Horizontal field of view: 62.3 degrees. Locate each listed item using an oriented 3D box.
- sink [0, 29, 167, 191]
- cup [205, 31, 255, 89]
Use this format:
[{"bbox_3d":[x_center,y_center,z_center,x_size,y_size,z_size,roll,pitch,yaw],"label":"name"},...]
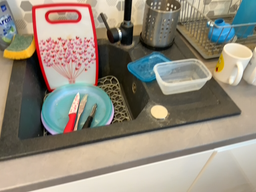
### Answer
[{"bbox_3d":[-0.160,0.020,0.700,0.390,0.240,0.460,-9,48,-12],"label":"sink"},{"bbox_3d":[0.380,-0.120,0.670,0.190,0.090,0.160,-7,47,-11],"label":"cup"}]
